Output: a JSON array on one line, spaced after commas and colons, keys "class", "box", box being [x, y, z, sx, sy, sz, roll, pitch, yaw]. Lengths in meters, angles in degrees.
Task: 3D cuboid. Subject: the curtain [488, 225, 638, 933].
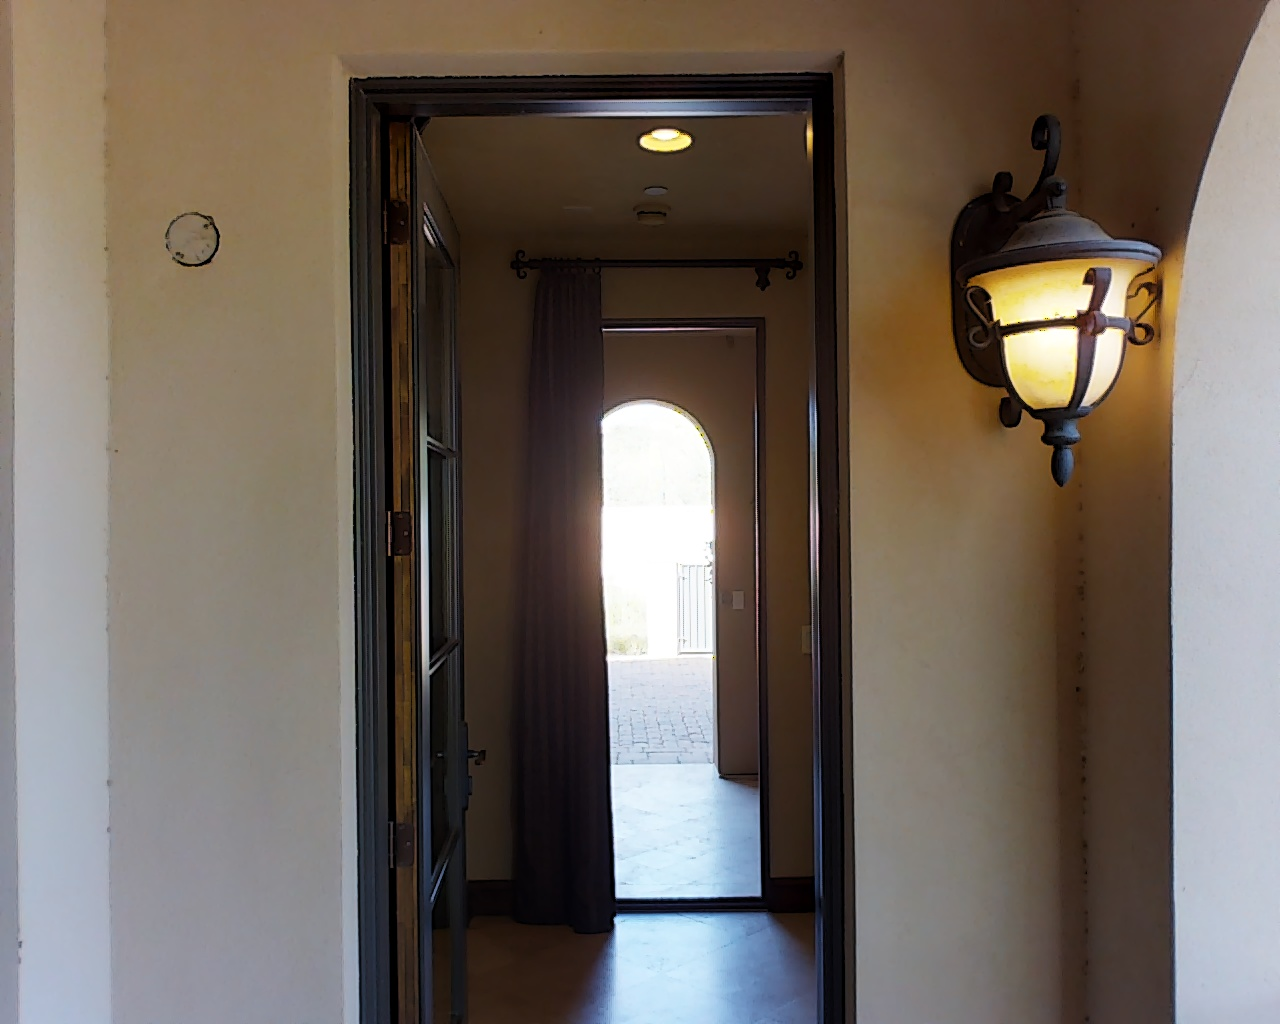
[{"class": "curtain", "box": [-0.290, 0.250, 4.180, 0.550, 2.660, 0.300, 0, -1, 0]}]
